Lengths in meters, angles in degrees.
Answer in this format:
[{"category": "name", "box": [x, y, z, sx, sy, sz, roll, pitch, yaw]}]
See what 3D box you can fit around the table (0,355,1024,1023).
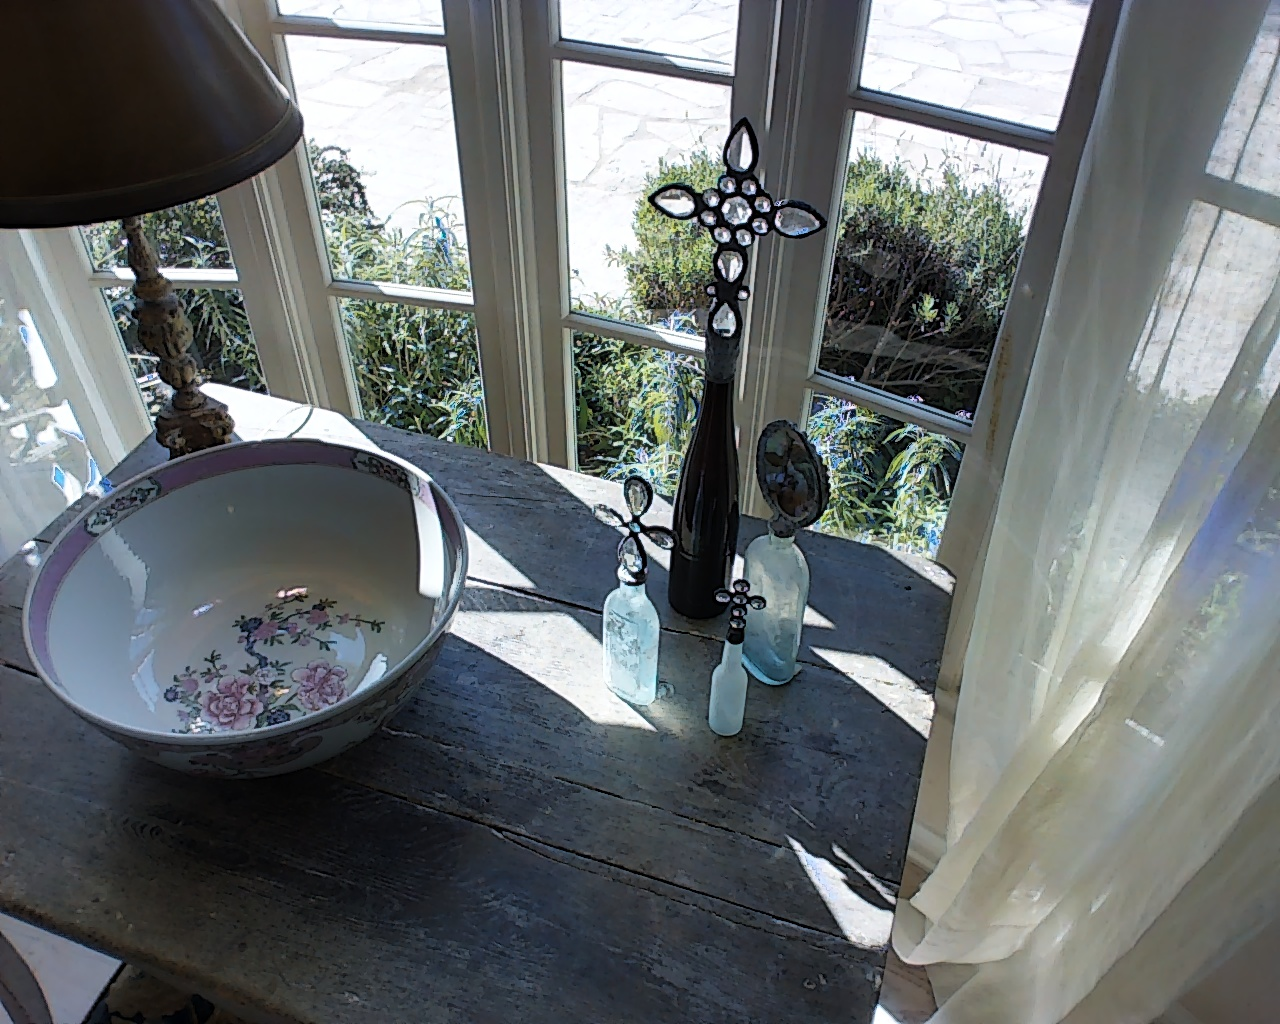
[{"category": "table", "box": [-0.210, 0.390, 1.410, 1.190, 0.680, 0.770, 12, 44, 12]}]
